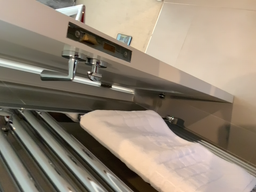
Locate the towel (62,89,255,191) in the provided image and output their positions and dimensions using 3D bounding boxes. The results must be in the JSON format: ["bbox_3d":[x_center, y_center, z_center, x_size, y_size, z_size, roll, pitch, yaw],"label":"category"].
[{"bbox_3d":[0.090,0.130,0.540,0.500,0.270,0.100,26,100,38],"label":"towel"}]
